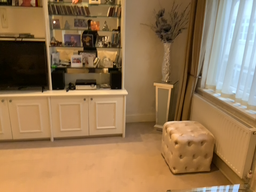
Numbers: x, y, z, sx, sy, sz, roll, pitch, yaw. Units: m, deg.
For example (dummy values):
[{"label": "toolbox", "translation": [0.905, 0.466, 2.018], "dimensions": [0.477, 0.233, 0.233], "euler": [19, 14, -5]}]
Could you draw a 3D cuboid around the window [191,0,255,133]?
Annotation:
[{"label": "window", "translation": [1.140, -0.750, 2.170], "dimensions": [0.180, 1.890, 1.220], "euler": [-2, 18, -12]}]
